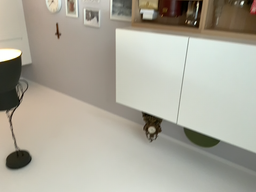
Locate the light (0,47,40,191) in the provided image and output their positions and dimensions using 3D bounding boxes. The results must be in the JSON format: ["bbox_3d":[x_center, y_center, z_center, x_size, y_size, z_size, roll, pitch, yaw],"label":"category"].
[{"bbox_3d":[-0.970,0.180,1.640,0.400,0.440,1.010,129,134,-71],"label":"light"}]
